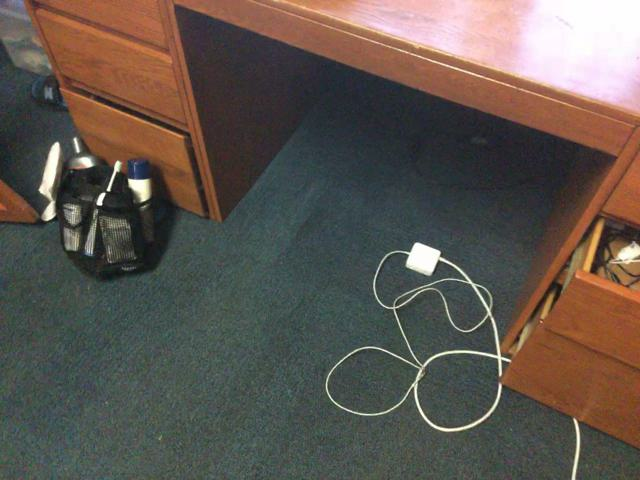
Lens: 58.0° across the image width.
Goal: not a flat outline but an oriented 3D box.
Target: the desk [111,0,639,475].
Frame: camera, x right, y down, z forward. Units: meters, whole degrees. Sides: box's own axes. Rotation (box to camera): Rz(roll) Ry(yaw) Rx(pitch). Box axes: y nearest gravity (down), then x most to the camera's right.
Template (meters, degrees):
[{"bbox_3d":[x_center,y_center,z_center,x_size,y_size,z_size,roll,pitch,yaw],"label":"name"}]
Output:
[{"bbox_3d":[0.430,-0.270,1.210,1.280,0.860,0.870,24,56,14],"label":"desk"}]
